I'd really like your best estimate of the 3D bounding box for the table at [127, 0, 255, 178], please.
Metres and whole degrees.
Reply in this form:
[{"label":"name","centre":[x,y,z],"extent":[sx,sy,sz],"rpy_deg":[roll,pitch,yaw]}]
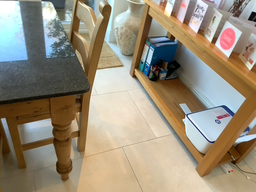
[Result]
[{"label":"table","centre":[0.510,-0.160,1.710],"extent":[0.440,0.780,1.250],"rpy_deg":[-9,45,-25]}]
